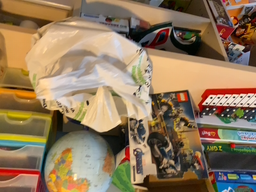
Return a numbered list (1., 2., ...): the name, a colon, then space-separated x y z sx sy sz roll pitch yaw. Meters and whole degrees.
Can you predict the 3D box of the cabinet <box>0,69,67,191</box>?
1. cabinet: -0.330 0.190 0.670 0.200 0.490 0.230 7 146 -13
